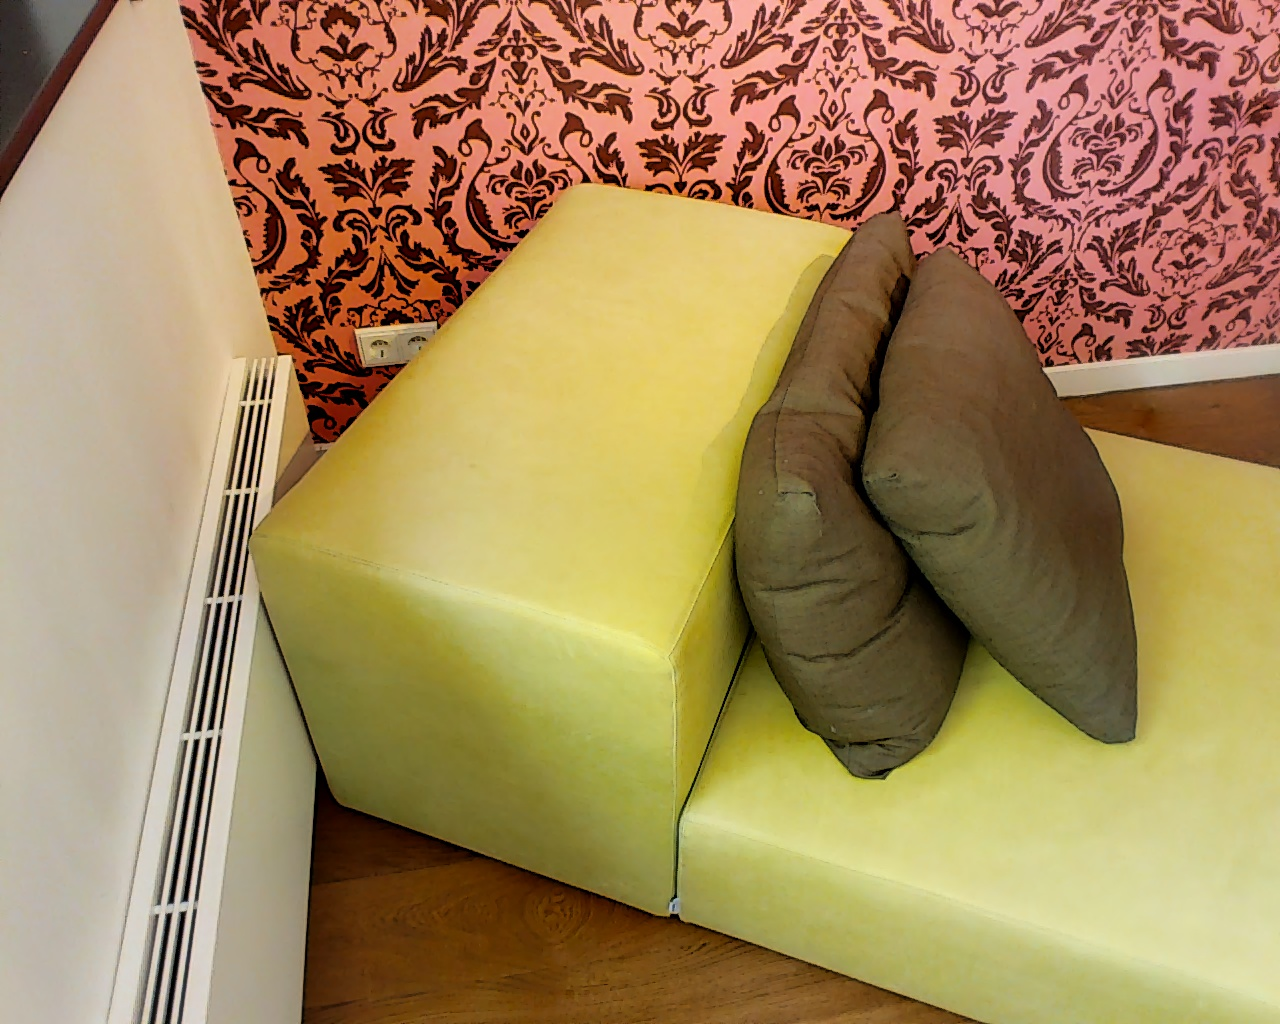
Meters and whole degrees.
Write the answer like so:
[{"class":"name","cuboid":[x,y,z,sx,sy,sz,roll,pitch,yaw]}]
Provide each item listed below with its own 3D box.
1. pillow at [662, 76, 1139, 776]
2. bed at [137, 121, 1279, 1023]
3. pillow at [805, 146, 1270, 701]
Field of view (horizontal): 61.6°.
[{"class":"pillow","cuboid":[0.320,-0.080,1.430,0.250,0.490,0.770,24,72,3]},{"class":"bed","cuboid":[0.390,0.080,1.530,1.580,0.660,1.060,14,44,15]},{"class":"pillow","cuboid":[0.460,-0.060,1.370,0.220,0.550,0.540,18,80,-4]}]
